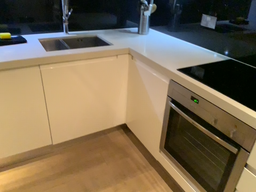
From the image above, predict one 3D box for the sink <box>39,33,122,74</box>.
[{"bbox_3d":[-0.420,-0.400,1.870,0.590,0.190,0.430,-12,32,-27],"label":"sink"}]
